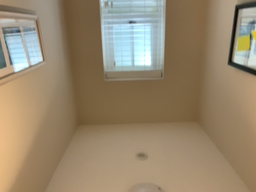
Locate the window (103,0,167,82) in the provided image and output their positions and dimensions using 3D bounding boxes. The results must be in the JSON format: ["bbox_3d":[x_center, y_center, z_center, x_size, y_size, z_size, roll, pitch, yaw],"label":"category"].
[{"bbox_3d":[0.060,-0.740,1.900,0.540,1.210,0.160,0,-162,2],"label":"window"}]
